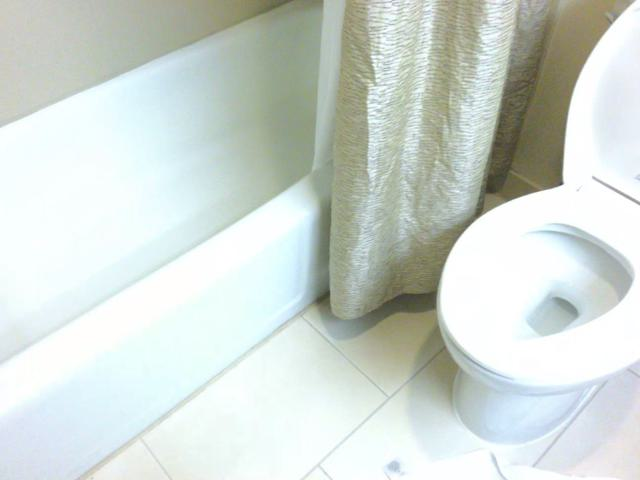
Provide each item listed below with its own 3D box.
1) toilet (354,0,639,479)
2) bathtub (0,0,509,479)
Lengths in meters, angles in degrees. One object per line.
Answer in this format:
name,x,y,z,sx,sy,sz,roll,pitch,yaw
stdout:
toilet,0.500,-0.020,1.020,0.760,0.850,0.450,-34,55,-27
bathtub,-0.300,-0.100,1.450,1.430,0.380,0.730,-34,55,-27
